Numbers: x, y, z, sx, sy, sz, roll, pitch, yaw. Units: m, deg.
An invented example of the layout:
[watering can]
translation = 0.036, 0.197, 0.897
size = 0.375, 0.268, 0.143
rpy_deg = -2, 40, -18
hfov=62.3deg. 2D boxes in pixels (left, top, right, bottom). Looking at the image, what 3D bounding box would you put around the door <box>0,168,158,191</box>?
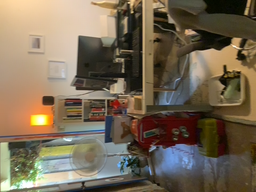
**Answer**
[door]
translation = -0.680, 1.280, 3.090
size = 0.740, 2.130, 0.060
rpy_deg = 160, 109, -68
